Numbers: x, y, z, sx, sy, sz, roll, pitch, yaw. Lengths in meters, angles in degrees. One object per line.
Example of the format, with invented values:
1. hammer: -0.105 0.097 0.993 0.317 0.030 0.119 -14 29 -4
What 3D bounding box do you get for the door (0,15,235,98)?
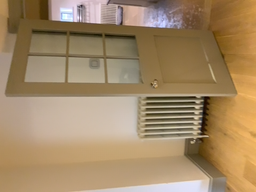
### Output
1. door: -0.020 -0.350 1.950 0.080 1.980 0.780 114 153 -61
